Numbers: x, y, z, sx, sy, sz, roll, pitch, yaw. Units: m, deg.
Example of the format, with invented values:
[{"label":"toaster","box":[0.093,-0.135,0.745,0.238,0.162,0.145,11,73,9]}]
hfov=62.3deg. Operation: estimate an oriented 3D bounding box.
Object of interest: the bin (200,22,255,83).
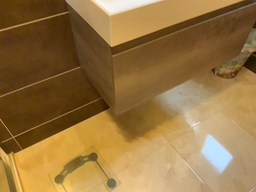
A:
[{"label":"bin","box":[0.770,-0.330,1.600,0.270,0.310,0.250,-19,50,-17]}]
